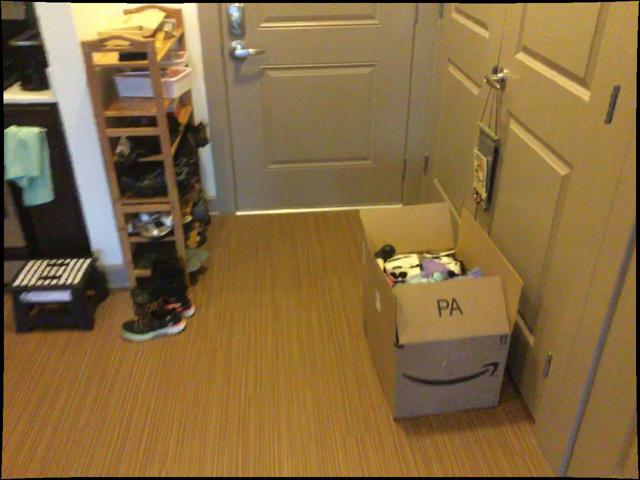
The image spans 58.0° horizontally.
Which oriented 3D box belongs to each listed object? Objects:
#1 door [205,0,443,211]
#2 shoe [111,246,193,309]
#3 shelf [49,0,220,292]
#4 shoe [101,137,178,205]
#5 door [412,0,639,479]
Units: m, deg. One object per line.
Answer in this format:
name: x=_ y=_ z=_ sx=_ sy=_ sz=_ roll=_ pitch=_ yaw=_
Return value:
door: x=0.020 y=-1.073 z=2.510 sx=1.018 sy=2.024 sz=0.130 roll=-2 pitch=30 yaw=-4
shoe: x=-0.678 y=0.150 z=2.360 sx=0.269 sy=0.160 sz=0.200 roll=-2 pitch=30 yaw=-3
shelf: x=-0.698 y=-0.431 z=2.450 sx=0.389 sy=1.032 sz=0.760 roll=-2 pitch=30 yaw=-3
shoe: x=-0.708 y=-0.281 z=2.300 sx=0.219 sy=0.160 sz=0.290 roll=-2 pitch=30 yaw=-3
door: x=0.658 y=-0.351 z=1.340 sx=0.140 sy=2.124 sz=2.922 roll=-2 pitch=30 yaw=-3
